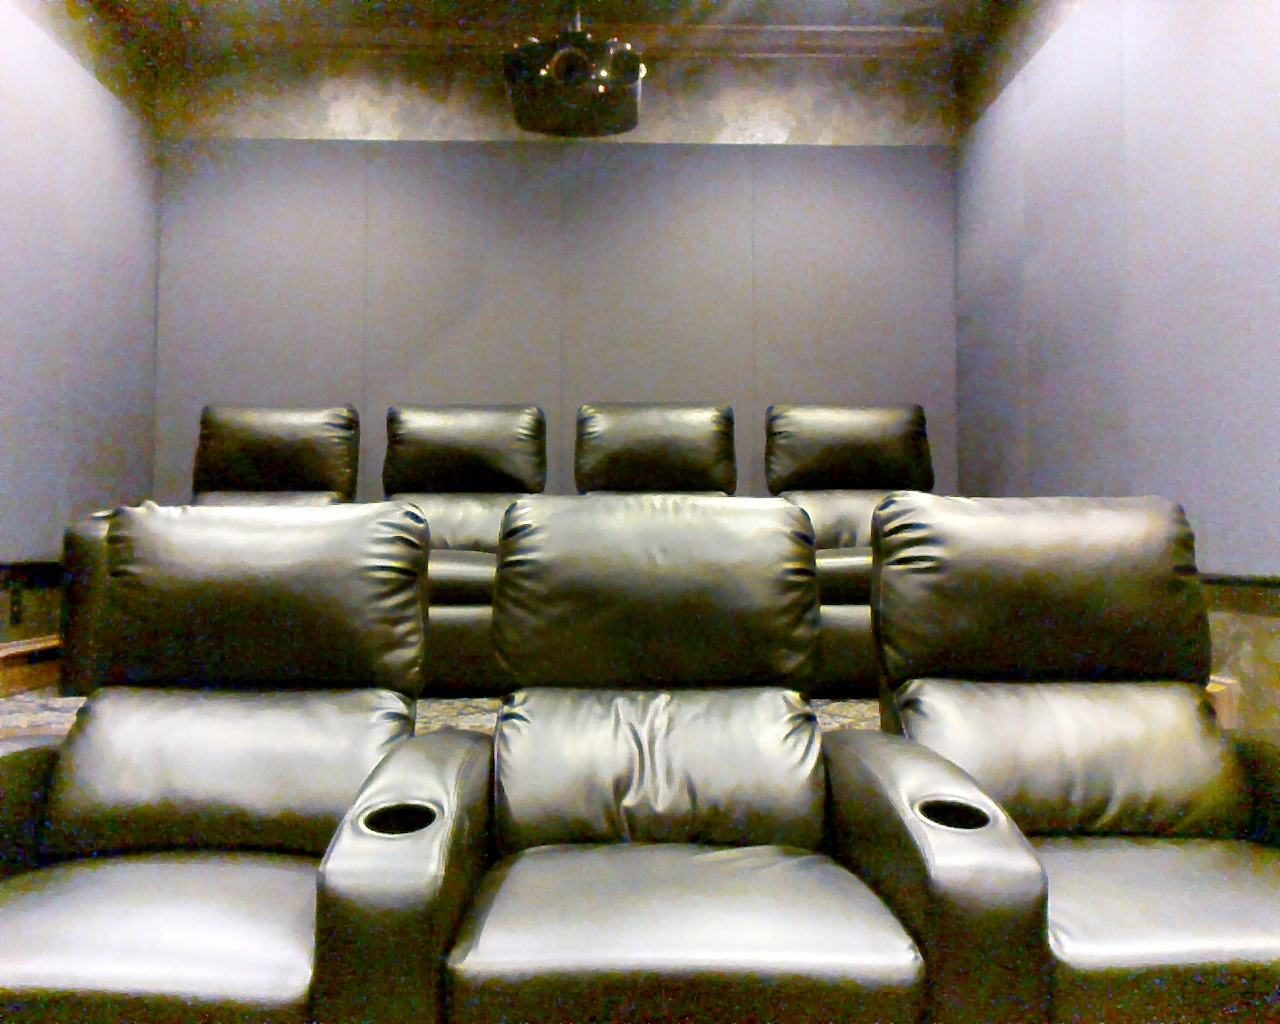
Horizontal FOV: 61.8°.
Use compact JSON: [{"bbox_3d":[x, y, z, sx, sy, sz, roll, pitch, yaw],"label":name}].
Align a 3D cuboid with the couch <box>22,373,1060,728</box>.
[{"bbox_3d":[-0.300,0.150,3.960,3.260,1.090,1.150,1,-2,-2],"label":"couch"}]
